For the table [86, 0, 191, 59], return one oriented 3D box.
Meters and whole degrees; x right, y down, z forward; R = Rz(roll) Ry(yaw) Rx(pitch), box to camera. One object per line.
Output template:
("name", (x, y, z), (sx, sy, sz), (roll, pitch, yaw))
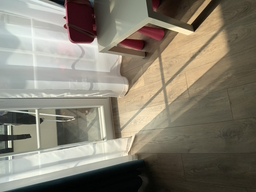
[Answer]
("table", (0.050, -0.650, 1.610), (0.640, 0.460, 0.550), (-8, 84, 50))
